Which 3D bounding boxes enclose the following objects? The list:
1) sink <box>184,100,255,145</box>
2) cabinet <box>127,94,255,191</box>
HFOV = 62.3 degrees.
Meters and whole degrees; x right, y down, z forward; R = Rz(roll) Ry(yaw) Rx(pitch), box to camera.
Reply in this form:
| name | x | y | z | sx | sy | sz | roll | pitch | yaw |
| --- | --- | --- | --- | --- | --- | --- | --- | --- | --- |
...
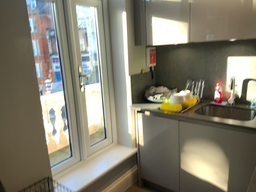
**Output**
| name | x | y | z | sx | sy | sz | roll | pitch | yaw |
| --- | --- | --- | --- | --- | --- | --- | --- | --- | --- |
| sink | 0.840 | 0.210 | 1.910 | 0.520 | 0.190 | 0.410 | 8 | 17 | 38 |
| cabinet | 0.660 | 0.540 | 2.110 | 1.160 | 0.900 | 0.600 | 7 | 17 | 37 |
